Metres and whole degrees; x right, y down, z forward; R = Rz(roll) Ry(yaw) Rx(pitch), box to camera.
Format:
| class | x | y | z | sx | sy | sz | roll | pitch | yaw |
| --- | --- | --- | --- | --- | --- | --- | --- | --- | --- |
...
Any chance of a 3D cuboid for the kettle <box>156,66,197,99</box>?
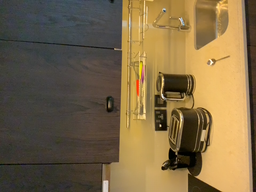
| class | x | y | z | sx | sy | sz | roll | pitch | yaw |
| --- | --- | --- | --- | --- | --- | --- | --- | --- | --- |
| kettle | 0.340 | -0.090 | 1.520 | 0.160 | 0.240 | 0.200 | 152 | 120 | -77 |

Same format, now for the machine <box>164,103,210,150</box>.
| class | x | y | z | sx | sy | sz | roll | pitch | yaw |
| --- | --- | --- | --- | --- | --- | --- | --- | --- | --- |
| machine | 0.370 | 0.190 | 1.370 | 0.220 | 0.190 | 0.250 | -151 | 64 | -78 |
